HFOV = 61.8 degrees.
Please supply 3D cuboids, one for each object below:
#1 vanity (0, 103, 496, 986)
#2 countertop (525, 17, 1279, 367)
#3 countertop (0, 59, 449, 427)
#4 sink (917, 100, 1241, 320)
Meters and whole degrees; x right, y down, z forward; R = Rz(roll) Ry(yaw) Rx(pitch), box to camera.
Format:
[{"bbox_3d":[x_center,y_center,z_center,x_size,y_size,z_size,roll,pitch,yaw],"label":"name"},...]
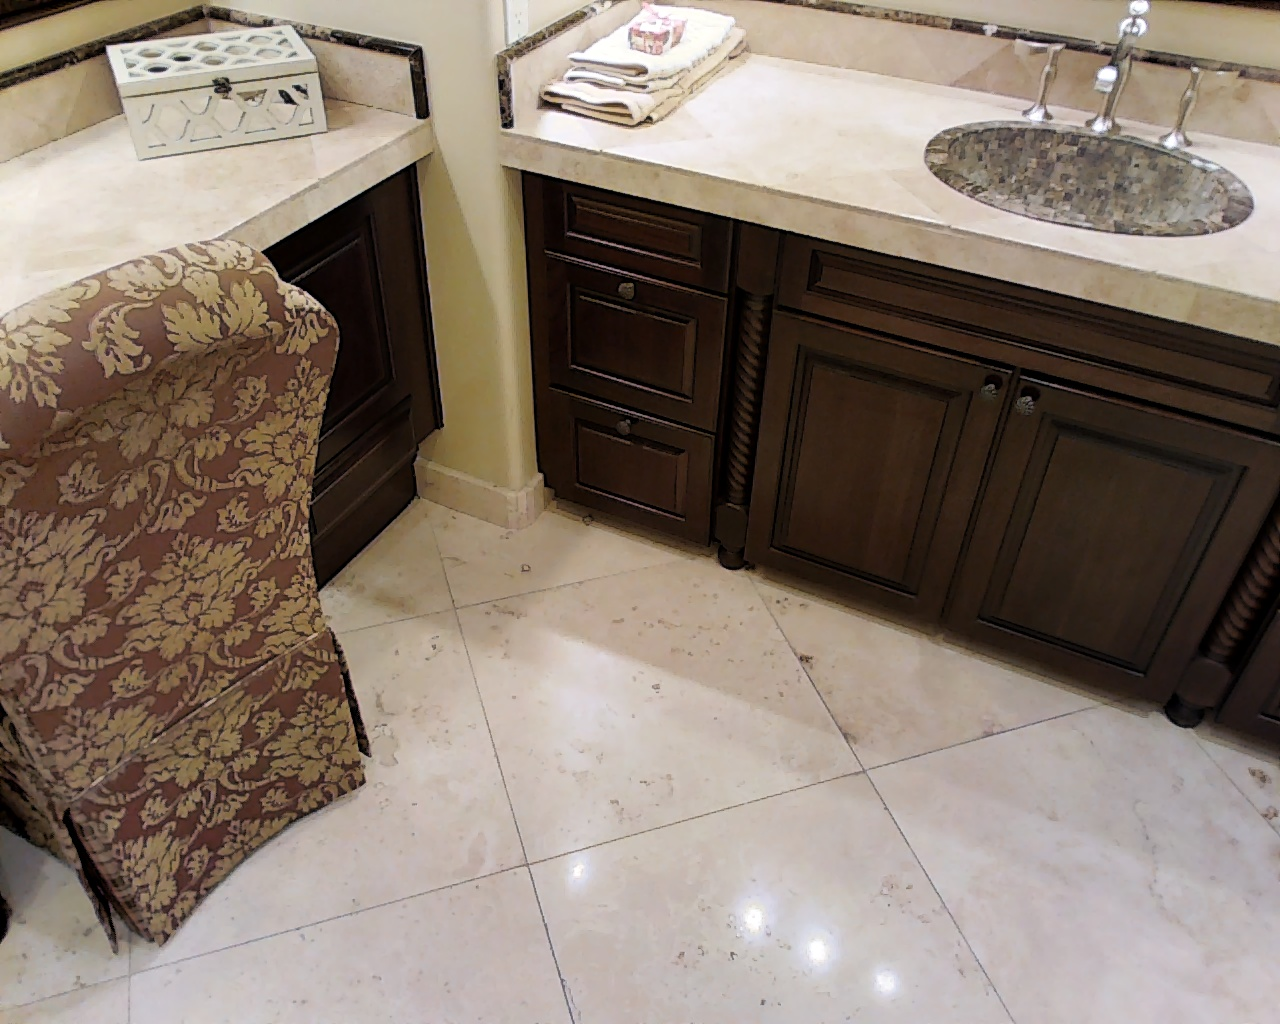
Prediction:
[{"bbox_3d":[-0.790,0.100,1.570,0.180,0.810,1.780,19,43,19],"label":"vanity"},{"bbox_3d":[0.730,-0.510,1.720,1.771,0.120,0.590,20,44,19],"label":"countertop"},{"bbox_3d":[-0.930,-0.240,1.330,0.490,0.080,1.700,19,43,19],"label":"countertop"},{"bbox_3d":[0.720,-0.510,1.760,0.420,0.160,0.310,20,44,19],"label":"sink"}]
